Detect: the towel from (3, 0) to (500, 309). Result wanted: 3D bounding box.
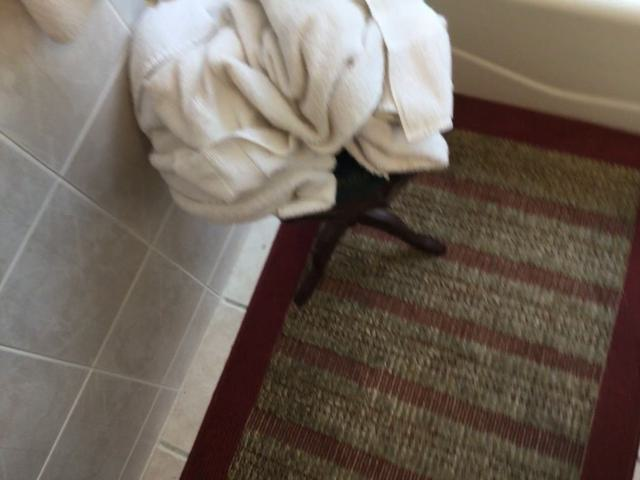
[{"bbox_3d":[-0.030,-0.190,0.710,0.400,0.330,0.380,18,75,15],"label":"towel"}]
